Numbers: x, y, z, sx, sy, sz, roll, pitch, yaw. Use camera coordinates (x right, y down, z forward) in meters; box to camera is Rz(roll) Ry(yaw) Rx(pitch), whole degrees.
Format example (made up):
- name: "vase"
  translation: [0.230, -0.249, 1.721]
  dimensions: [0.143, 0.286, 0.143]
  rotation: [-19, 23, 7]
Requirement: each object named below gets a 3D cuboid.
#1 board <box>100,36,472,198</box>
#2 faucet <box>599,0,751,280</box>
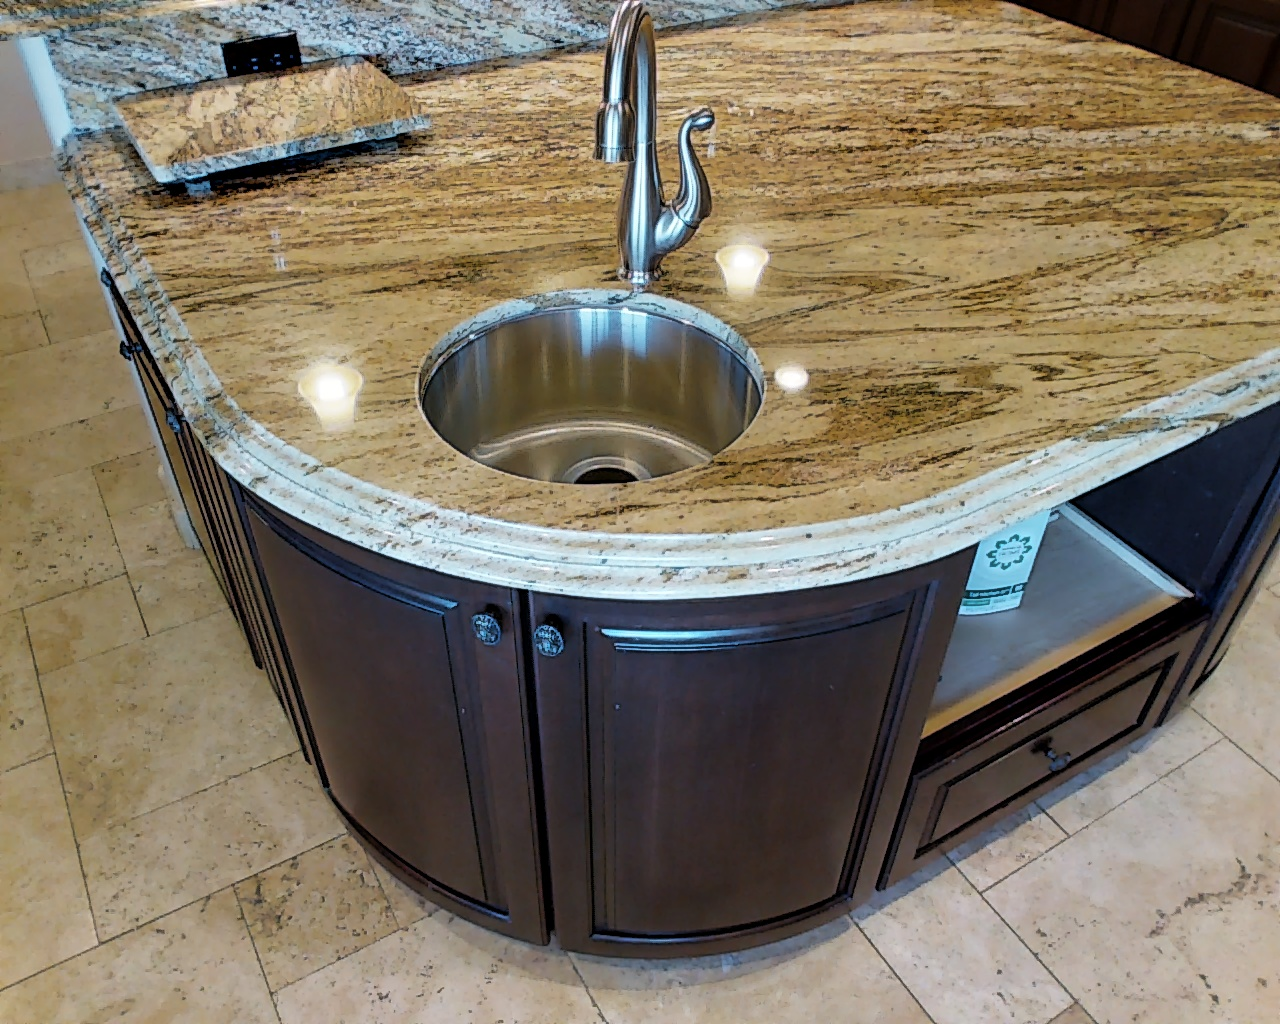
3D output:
- name: "board"
  translation: [-0.550, -0.630, 1.670]
  dimensions: [0.480, 0.060, 0.310]
  rotation: [-21, 46, -23]
- name: "faucet"
  translation: [0.040, -0.460, 1.280]
  dimensions: [0.150, 0.320, 0.130]
  rotation: [8, 42, 7]
